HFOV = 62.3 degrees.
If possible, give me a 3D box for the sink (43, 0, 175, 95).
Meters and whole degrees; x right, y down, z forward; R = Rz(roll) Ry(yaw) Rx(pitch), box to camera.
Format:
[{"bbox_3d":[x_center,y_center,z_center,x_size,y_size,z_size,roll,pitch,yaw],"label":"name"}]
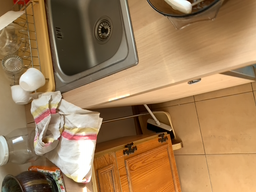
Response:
[{"bbox_3d":[-0.100,-0.280,0.780,0.410,0.200,0.480,-14,82,39],"label":"sink"}]
